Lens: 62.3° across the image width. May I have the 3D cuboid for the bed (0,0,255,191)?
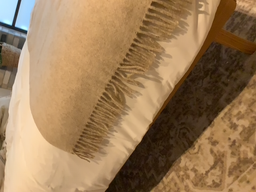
[{"bbox_3d":[-0.450,0.060,1.520,2.080,0.700,1.530,-59,36,26],"label":"bed"}]
